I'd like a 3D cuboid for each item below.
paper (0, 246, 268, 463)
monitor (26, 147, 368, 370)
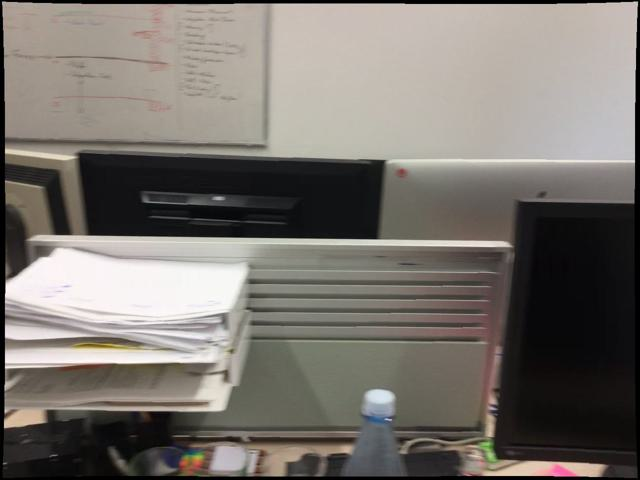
[{"bbox_3d":[-0.280,0.160,0.890,0.370,0.230,0.250,1,17,1],"label":"paper"},{"bbox_3d":[-0.240,0.030,1.290,0.679,0.430,0.210,2,17,4],"label":"monitor"}]
